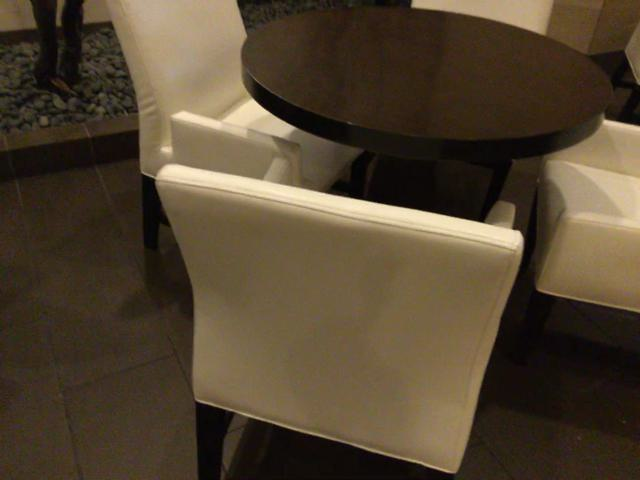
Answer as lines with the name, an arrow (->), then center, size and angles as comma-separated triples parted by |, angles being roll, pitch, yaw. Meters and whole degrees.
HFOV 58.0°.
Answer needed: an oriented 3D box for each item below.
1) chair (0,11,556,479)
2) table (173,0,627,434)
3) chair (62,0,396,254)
chair -> 0.000, 0.100, 1.220 | 0.720, 0.870, 0.680 | 12, 42, 17
table -> 0.280, -0.180, 1.690 | 0.890, 0.820, 0.910 | 12, 42, 17
chair -> -0.190, -0.470, 1.750 | 0.670, 0.640, 0.650 | 12, 42, 18
